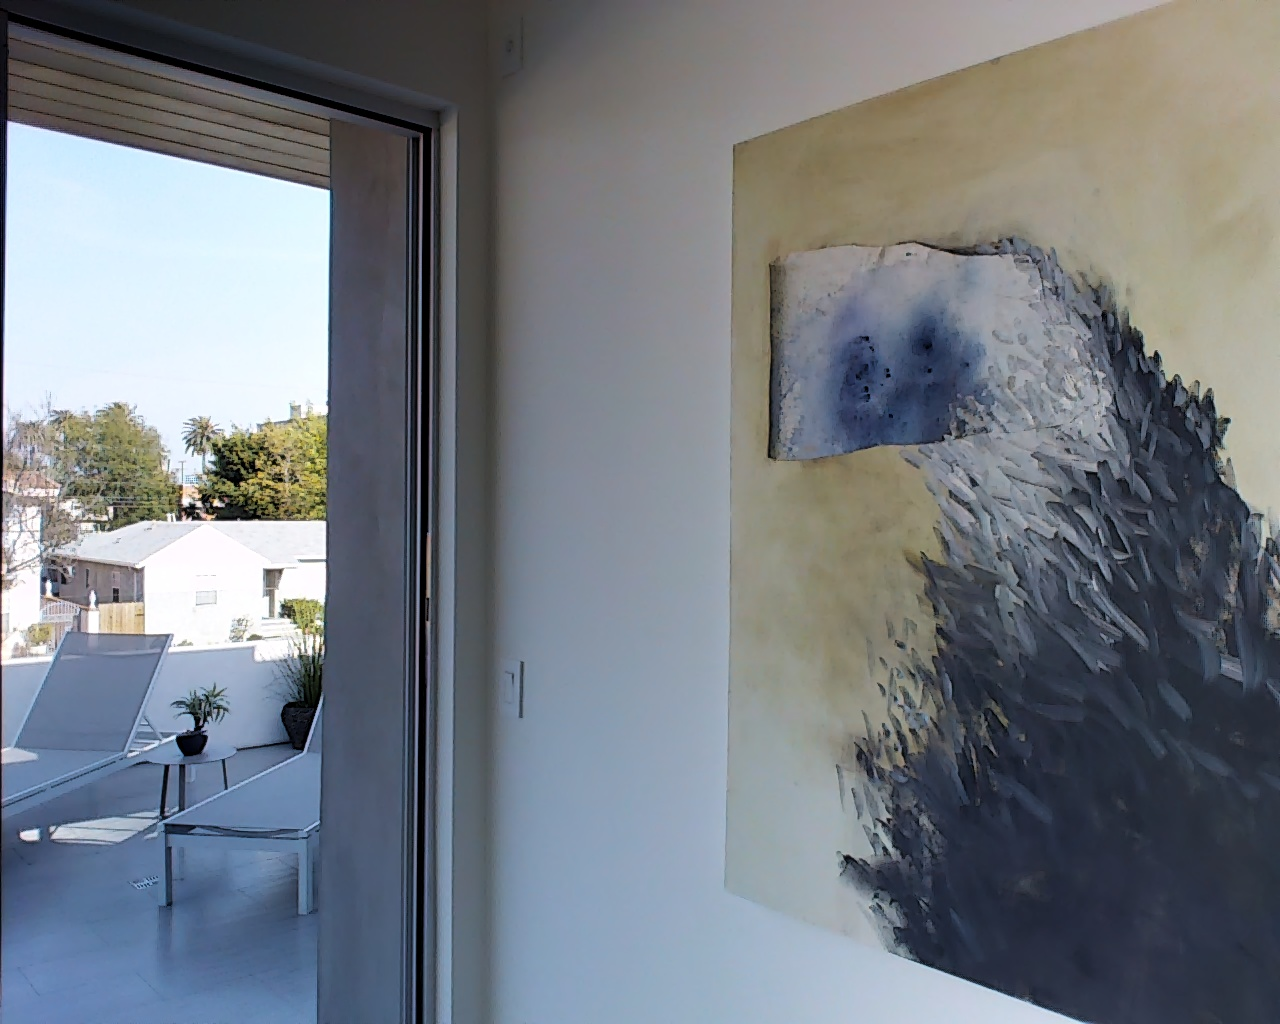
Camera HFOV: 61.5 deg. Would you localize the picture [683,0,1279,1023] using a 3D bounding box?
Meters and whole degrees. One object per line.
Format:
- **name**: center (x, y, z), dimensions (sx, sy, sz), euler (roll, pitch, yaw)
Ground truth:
- **picture**: center (0.450, 0.010, 1.470), dimensions (0.050, 1.341, 1.060), euler (0, 1, -42)
